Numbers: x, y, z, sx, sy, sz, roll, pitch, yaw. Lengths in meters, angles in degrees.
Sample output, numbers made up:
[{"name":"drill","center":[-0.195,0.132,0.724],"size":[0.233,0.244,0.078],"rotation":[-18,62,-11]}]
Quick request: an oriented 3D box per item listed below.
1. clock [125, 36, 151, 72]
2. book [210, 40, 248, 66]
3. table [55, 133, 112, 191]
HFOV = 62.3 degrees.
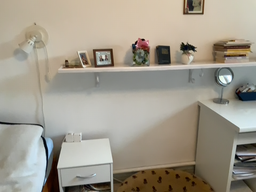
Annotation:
[{"name":"clock","center":[0.070,-0.340,1.680],"size":[0.170,0.260,0.200],"rotation":[-2,17,-8]},{"name":"book","center":[0.850,-0.370,1.800],"size":[0.200,0.190,0.180],"rotation":[-3,17,-8]},{"name":"table","center":[-0.350,0.660,1.770],"size":[0.390,0.520,0.420],"rotation":[-3,18,-9]}]
